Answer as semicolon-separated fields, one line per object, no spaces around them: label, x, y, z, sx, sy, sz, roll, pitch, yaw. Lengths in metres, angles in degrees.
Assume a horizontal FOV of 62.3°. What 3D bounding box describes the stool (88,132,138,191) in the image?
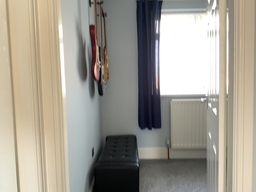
stool;-0.130;0.760;2.480;0.460;0.400;1.090;-1;5;1
